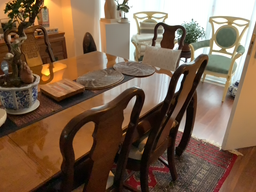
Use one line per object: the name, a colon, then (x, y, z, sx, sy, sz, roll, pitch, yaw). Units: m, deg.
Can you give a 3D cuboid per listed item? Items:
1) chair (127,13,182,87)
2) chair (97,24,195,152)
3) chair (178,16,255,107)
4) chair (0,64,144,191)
chair: (0.350, -0.720, 3.320, 0.690, 1.010, 0.570, -1, 28, -4)
chair: (0.160, -0.130, 2.160, 0.600, 1.020, 0.670, 24, 35, 36)
chair: (1.190, -0.510, 2.930, 0.660, 1.020, 0.560, 21, 33, 33)
chair: (-0.300, 0.430, 1.100, 0.560, 1.000, 0.440, 22, 34, 34)
